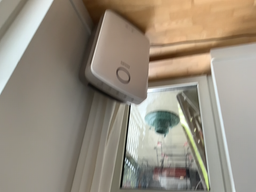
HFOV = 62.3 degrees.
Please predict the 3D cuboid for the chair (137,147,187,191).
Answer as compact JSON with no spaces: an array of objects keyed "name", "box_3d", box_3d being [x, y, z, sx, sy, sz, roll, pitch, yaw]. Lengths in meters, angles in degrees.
[{"name":"chair","box_3d":[0.480,1.250,3.010,0.630,0.880,0.530,-1,144,10]}]
